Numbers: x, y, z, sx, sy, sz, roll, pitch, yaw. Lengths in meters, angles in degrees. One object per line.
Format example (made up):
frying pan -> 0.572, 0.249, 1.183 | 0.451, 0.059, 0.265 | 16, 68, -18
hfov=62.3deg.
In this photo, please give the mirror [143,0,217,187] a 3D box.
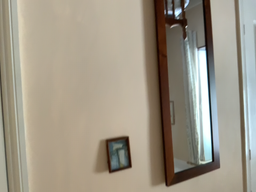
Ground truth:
mirror -> 0.280, -0.380, 1.140 | 0.430, 1.620, 0.050 | -5, -178, -31
